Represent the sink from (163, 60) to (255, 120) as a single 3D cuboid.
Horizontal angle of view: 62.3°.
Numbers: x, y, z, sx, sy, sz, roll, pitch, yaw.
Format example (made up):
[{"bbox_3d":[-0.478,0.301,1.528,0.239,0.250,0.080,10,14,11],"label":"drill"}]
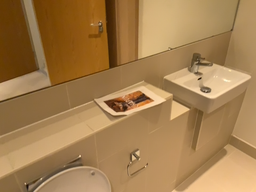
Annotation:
[{"bbox_3d":[0.530,-0.070,1.390,0.490,0.130,0.340,-22,37,-32],"label":"sink"}]
